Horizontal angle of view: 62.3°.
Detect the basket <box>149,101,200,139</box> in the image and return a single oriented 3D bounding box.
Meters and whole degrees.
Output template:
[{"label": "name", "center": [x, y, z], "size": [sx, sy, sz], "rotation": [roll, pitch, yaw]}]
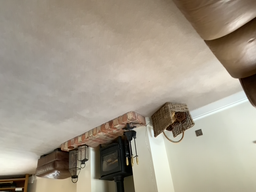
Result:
[{"label": "basket", "center": [0.610, 0.340, 2.790], "size": [0.430, 0.260, 0.470], "rotation": [-28, 144, 31]}]
